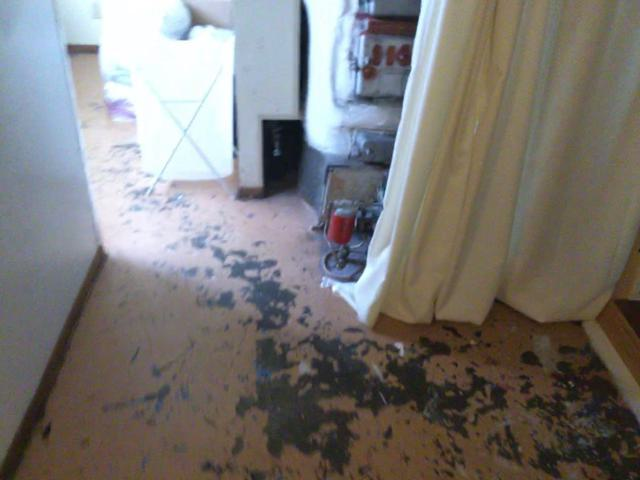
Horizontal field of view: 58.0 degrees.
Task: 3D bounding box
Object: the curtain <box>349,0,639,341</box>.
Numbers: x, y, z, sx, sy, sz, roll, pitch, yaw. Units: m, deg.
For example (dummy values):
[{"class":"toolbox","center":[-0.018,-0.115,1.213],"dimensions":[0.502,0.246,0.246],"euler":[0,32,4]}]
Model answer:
[{"class":"curtain","center":[0.710,-0.540,1.610],"dimensions":[1.100,1.910,0.310],"euler":[1,33,-3]}]
